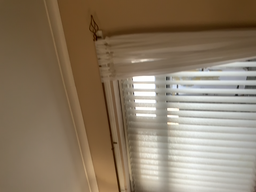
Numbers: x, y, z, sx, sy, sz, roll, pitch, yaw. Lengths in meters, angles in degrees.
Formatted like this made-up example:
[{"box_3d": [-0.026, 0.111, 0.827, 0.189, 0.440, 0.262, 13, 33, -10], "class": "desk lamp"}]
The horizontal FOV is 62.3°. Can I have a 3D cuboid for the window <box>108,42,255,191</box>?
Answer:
[{"box_3d": [0.630, 0.520, 2.100, 0.270, 1.380, 2.020, -66, -26, -58], "class": "window"}]
